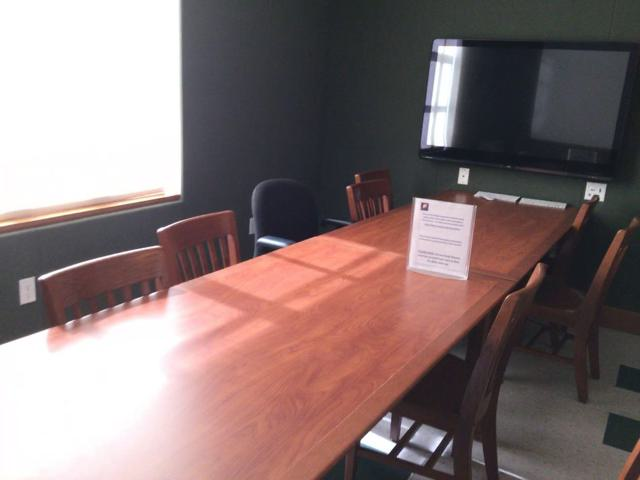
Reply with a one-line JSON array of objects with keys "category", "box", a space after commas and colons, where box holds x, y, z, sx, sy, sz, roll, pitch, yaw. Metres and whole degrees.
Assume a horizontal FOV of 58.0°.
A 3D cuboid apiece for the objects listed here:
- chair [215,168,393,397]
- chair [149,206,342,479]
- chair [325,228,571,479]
[{"category": "chair", "box": [-0.080, 0.160, 3.050, 0.610, 0.940, 0.720, 12, 18, 29]}, {"category": "chair", "box": [-0.290, 0.370, 2.310, 0.530, 0.880, 0.500, 12, 18, 29]}, {"category": "chair", "box": [0.460, 0.490, 2.090, 0.620, 0.880, 0.610, 12, 18, 29]}]
